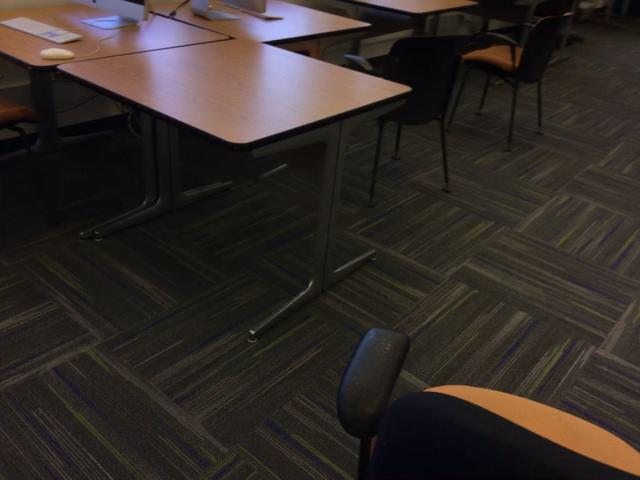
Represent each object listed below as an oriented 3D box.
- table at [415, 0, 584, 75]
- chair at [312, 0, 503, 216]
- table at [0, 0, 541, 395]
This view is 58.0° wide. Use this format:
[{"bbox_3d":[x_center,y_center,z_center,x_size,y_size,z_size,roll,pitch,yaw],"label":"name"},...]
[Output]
[{"bbox_3d":[1.540,-2.000,4.900,1.020,0.750,0.900,30,43,33],"label":"table"},{"bbox_3d":[0.380,-0.700,2.900,0.600,0.850,0.630,-14,38,-23],"label":"chair"},{"bbox_3d":[-0.380,-0.610,2.730,1.880,0.840,1.910,30,43,33],"label":"table"}]
